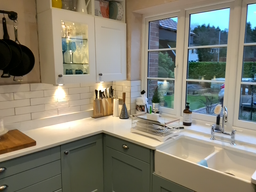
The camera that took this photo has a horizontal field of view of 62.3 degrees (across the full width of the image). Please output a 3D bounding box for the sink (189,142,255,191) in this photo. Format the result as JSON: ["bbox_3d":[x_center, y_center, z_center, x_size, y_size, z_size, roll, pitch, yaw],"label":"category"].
[{"bbox_3d":[0.800,0.590,1.630,0.430,0.230,0.520,8,12,43],"label":"sink"}]

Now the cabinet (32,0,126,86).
[{"bbox_3d":[-0.500,-0.700,2.460,0.340,1.080,1.030,8,12,43],"label":"cabinet"}]
